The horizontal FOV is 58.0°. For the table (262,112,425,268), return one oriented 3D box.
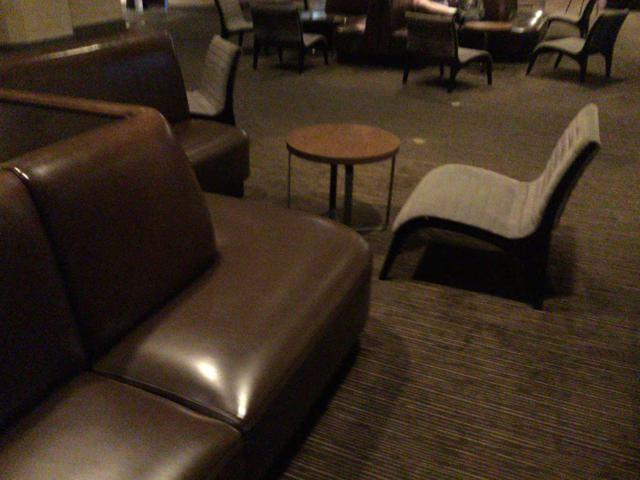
[{"bbox_3d":[0.140,-0.280,2.890,0.590,0.520,0.590,11,31,24],"label":"table"}]
